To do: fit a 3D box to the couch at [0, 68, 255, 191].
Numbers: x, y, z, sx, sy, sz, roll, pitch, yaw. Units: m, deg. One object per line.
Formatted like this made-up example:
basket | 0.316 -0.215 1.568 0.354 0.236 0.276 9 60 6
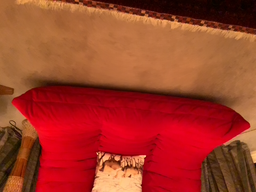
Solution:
couch | 0.000 0.510 1.790 1.550 0.870 1.060 4 140 -4
